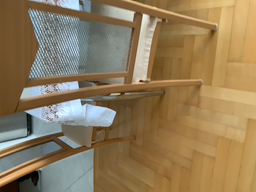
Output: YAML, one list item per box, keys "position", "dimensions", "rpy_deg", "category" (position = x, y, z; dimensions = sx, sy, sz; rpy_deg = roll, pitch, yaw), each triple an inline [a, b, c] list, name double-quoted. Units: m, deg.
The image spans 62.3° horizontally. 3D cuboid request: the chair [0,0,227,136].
- position: [-0.090, -0.250, 0.950]
  dimensions: [0.550, 0.990, 0.430]
  rpy_deg: [27, 114, 41]
  category: "chair"
